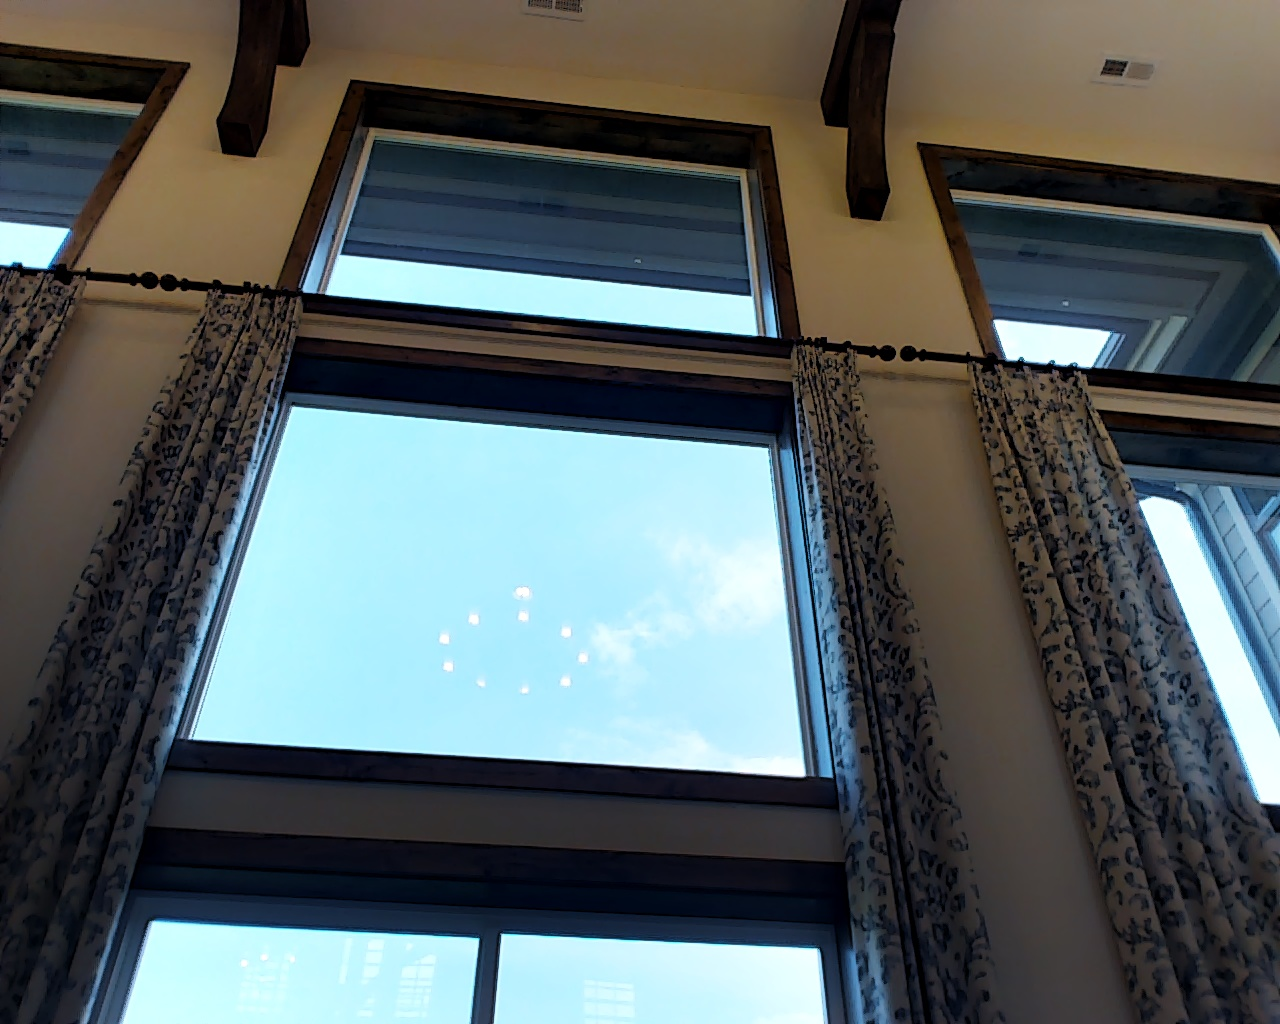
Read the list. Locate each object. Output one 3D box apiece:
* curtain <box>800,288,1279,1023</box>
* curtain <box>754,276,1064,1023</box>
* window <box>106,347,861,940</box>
[{"bbox_3d":[1.170,1.020,2.640,1.100,4.610,0.240,5,-42,-5],"label":"curtain"},{"bbox_3d":[0.670,0.970,2.570,0.450,4.590,0.290,5,-42,-5],"label":"curtain"},{"bbox_3d":[-0.350,0.280,3.210,1.770,1.790,0.250,5,-42,-5],"label":"window"}]
